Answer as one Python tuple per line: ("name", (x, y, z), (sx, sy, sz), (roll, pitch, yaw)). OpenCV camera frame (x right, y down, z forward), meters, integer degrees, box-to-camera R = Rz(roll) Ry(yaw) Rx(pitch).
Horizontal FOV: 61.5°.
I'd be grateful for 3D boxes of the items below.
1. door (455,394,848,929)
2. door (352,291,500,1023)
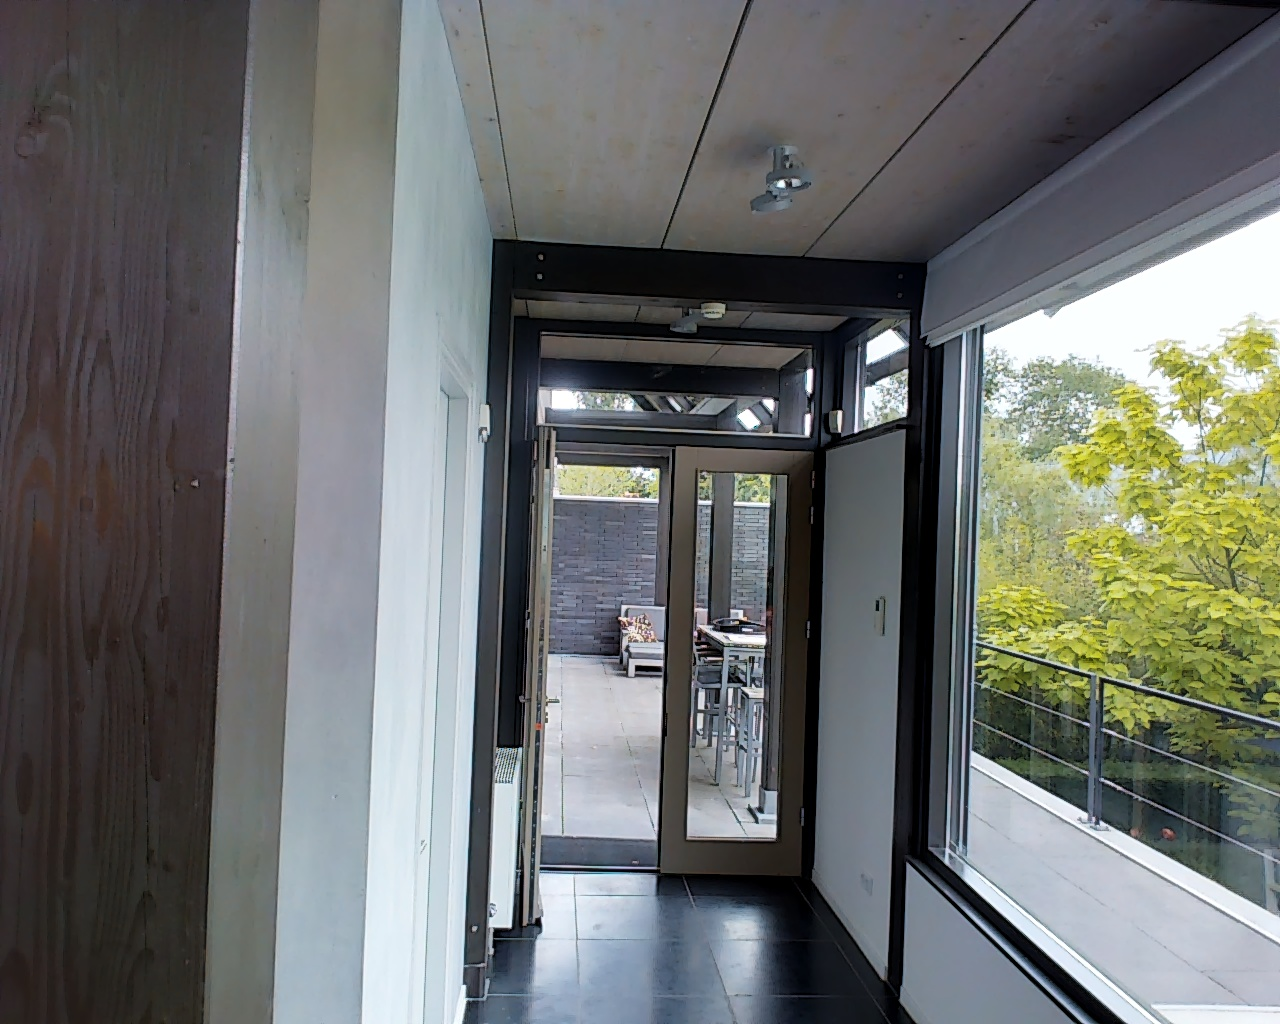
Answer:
("door", (0.060, 0.740, 5.940), (1.840, 2.530, 0.970), (3, -1, -26))
("door", (-0.600, 0.700, 3.150), (0.200, 2.440, 1.160), (2, -1, -3))
